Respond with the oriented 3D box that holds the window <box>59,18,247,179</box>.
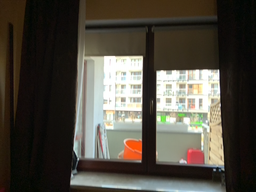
[{"bbox_3d":[0.200,0.000,1.980,1.670,1.400,0.090,1,-1,6],"label":"window"}]
